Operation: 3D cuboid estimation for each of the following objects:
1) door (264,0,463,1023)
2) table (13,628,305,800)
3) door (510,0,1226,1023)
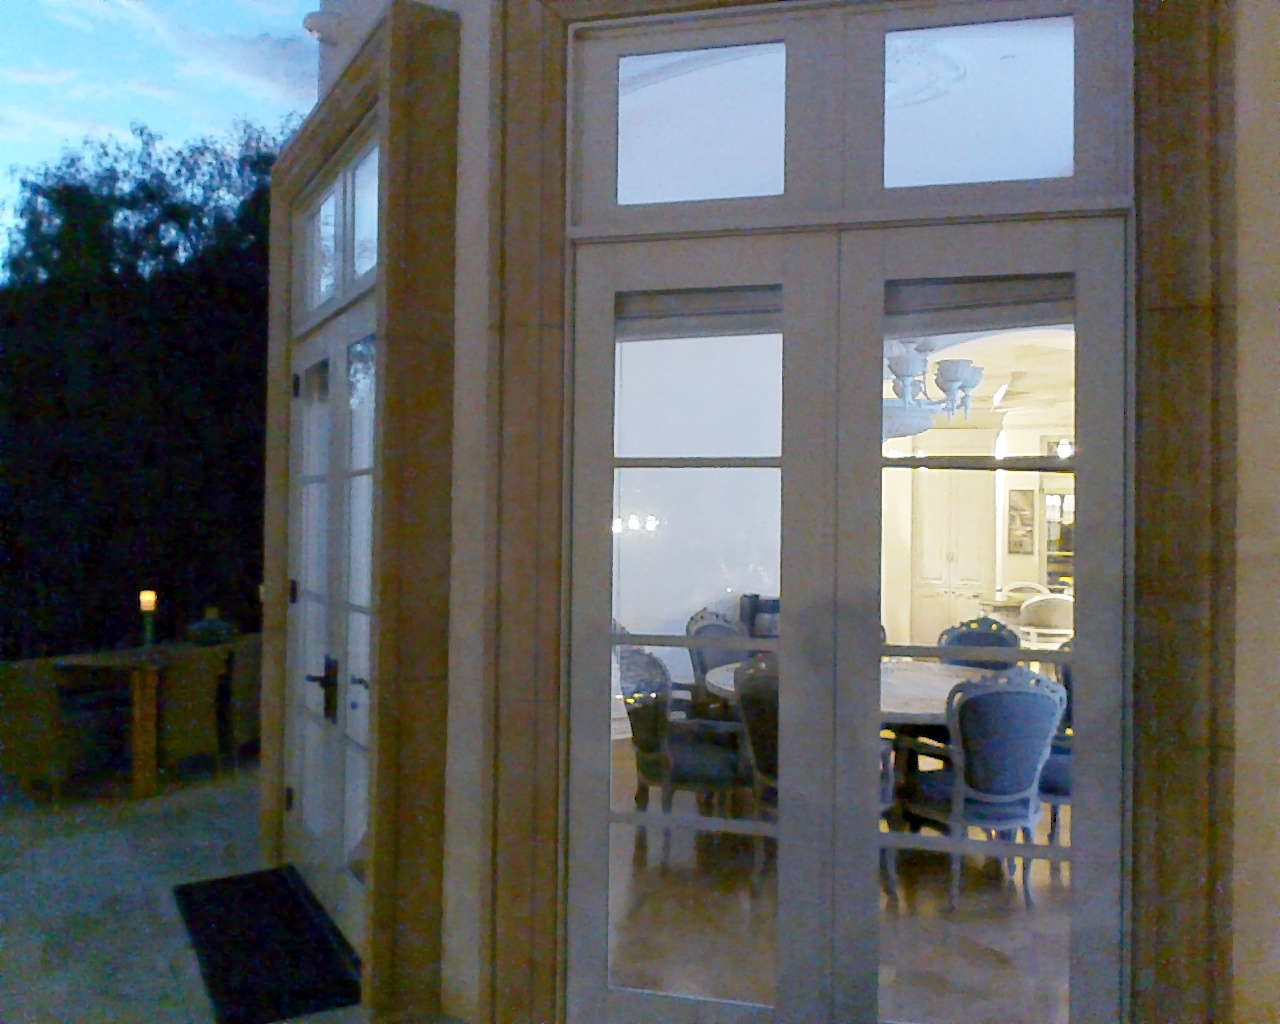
[{"bbox_3d":[-1.190,-0.080,4.320,0.230,3.371,2.070,1,-1,-29],"label":"door"},{"bbox_3d":[-3.089,1.260,7.020,1.200,0.840,1.270,0,-1,16],"label":"table"},{"bbox_3d":[0.550,0.010,2.940,1.860,3.231,0.180,0,-1,16],"label":"door"}]
